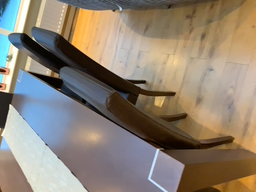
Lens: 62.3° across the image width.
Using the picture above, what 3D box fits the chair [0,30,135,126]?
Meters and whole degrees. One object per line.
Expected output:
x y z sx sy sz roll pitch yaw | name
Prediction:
-0.490 -0.110 1.760 0.440 0.950 0.540 20 96 46 | chair

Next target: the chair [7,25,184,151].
-0.160 0.000 1.400 0.420 0.950 0.540 31 104 45 | chair
